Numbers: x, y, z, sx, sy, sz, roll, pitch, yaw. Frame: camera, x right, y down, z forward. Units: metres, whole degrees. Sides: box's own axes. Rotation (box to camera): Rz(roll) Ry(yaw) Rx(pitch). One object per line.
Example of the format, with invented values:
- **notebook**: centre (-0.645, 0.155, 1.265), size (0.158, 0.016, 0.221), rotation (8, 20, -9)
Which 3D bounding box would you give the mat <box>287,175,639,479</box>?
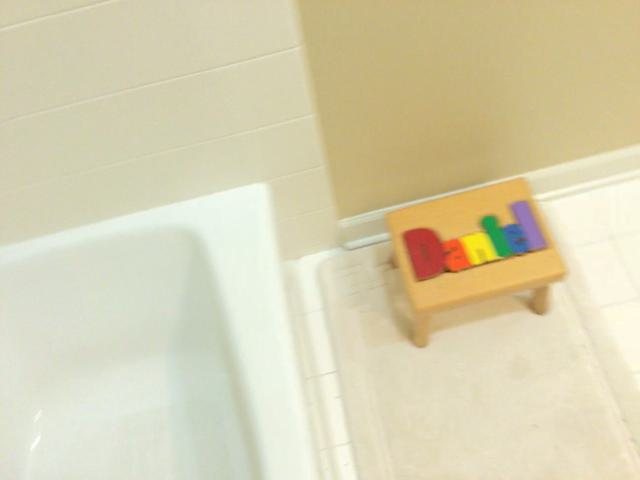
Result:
- **mat**: centre (0.330, 0.340, 1.130), size (0.640, 0.910, 0.100), rotation (-14, -30, 2)
